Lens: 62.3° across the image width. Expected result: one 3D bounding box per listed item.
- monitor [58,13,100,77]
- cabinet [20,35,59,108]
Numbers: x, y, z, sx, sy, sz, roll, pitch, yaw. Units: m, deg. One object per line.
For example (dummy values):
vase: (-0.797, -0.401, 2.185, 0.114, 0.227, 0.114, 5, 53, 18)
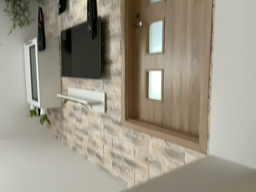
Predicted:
monitor: (-0.650, -0.580, 2.650, 0.040, 0.650, 1.100, -5, -171, -37)
cabinet: (-1.490, -0.400, 3.520, 0.340, 1.060, 0.820, -5, -171, -38)
